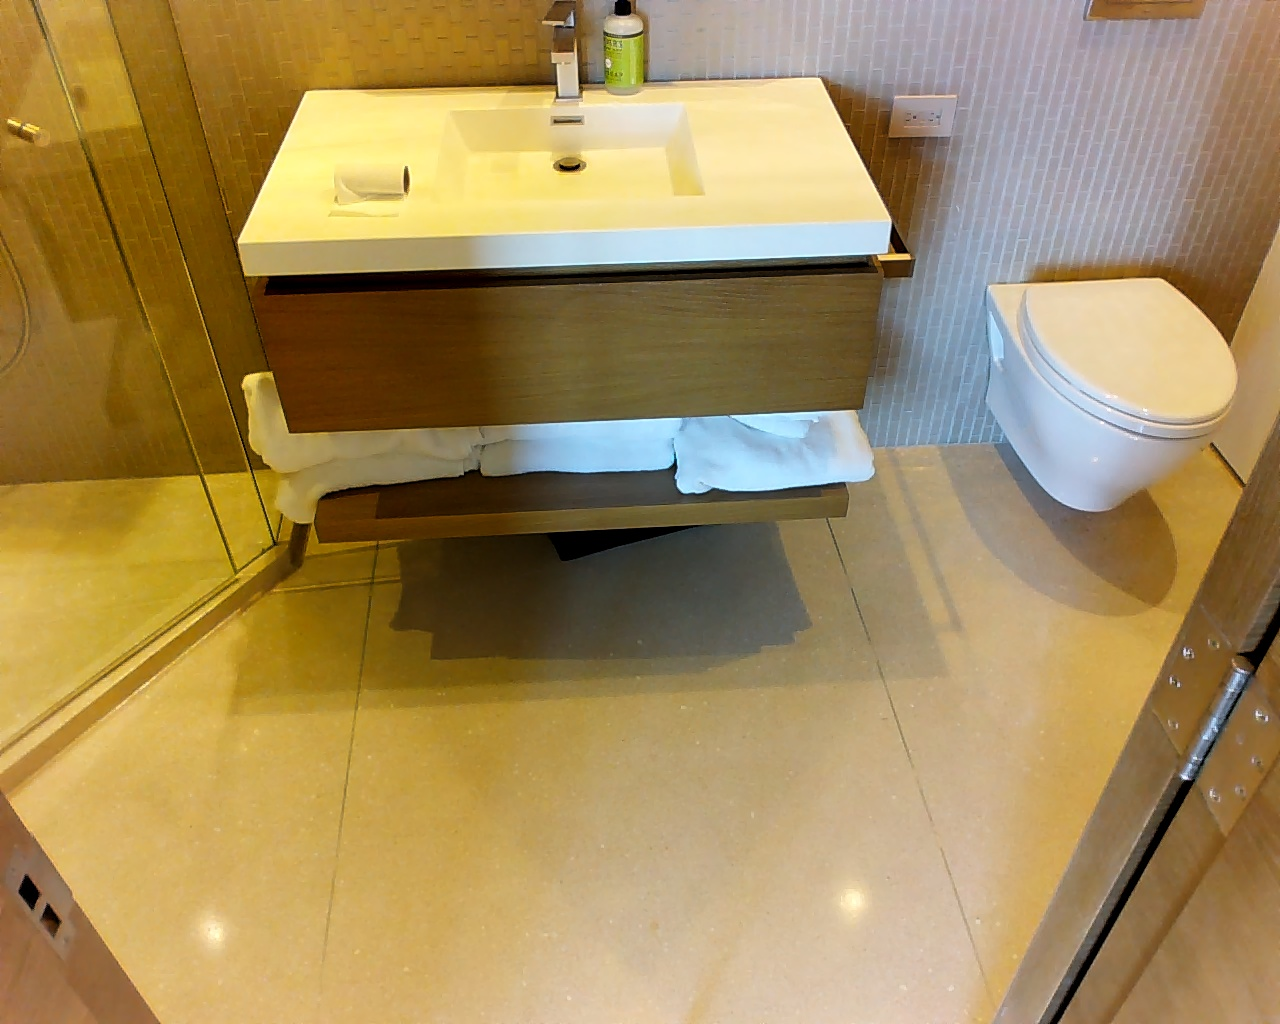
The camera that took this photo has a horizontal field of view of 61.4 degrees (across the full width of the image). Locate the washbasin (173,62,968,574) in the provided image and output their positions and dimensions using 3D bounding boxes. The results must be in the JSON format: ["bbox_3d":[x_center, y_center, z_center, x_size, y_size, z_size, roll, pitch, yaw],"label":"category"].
[{"bbox_3d":[-0.100,-0.350,1.930,1.100,0.670,0.580,-2,41,-1],"label":"washbasin"}]

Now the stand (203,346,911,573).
[{"bbox_3d":[-0.130,-0.090,1.880,1.120,0.310,0.190,-2,41,-1],"label":"stand"}]
